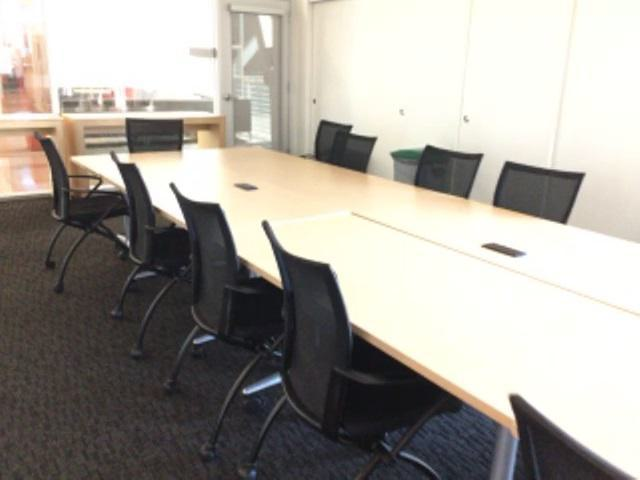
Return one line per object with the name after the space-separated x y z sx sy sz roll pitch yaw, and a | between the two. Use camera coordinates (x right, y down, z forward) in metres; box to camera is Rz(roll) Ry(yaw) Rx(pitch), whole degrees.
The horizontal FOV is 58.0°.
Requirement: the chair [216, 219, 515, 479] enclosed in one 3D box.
0.100 0.390 1.780 0.660 0.810 0.490 0 15 -28 | chair

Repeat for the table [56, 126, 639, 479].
0.710 0.440 1.980 1.570 0.870 6.660 -3 17 -36 | table
